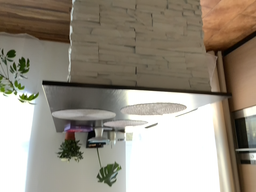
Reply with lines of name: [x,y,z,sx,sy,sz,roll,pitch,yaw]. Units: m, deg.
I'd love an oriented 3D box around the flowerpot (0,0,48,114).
flowerpot: [-1.320,-0.420,1.730,1.130,0.950,0.860,3,164,-16]
